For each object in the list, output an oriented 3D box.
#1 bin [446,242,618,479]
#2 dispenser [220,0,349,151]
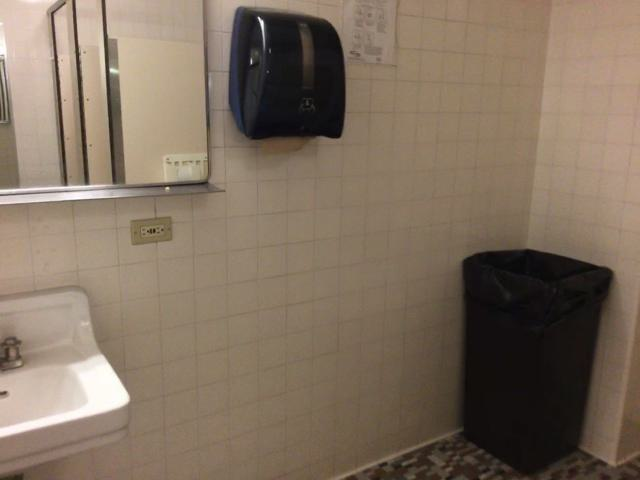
[{"bbox_3d":[0.830,0.470,2.330,0.420,0.820,0.430,-7,13,-30],"label":"bin"},{"bbox_3d":[-0.100,-0.470,1.680,0.320,0.400,0.180,-7,13,-30],"label":"dispenser"}]
